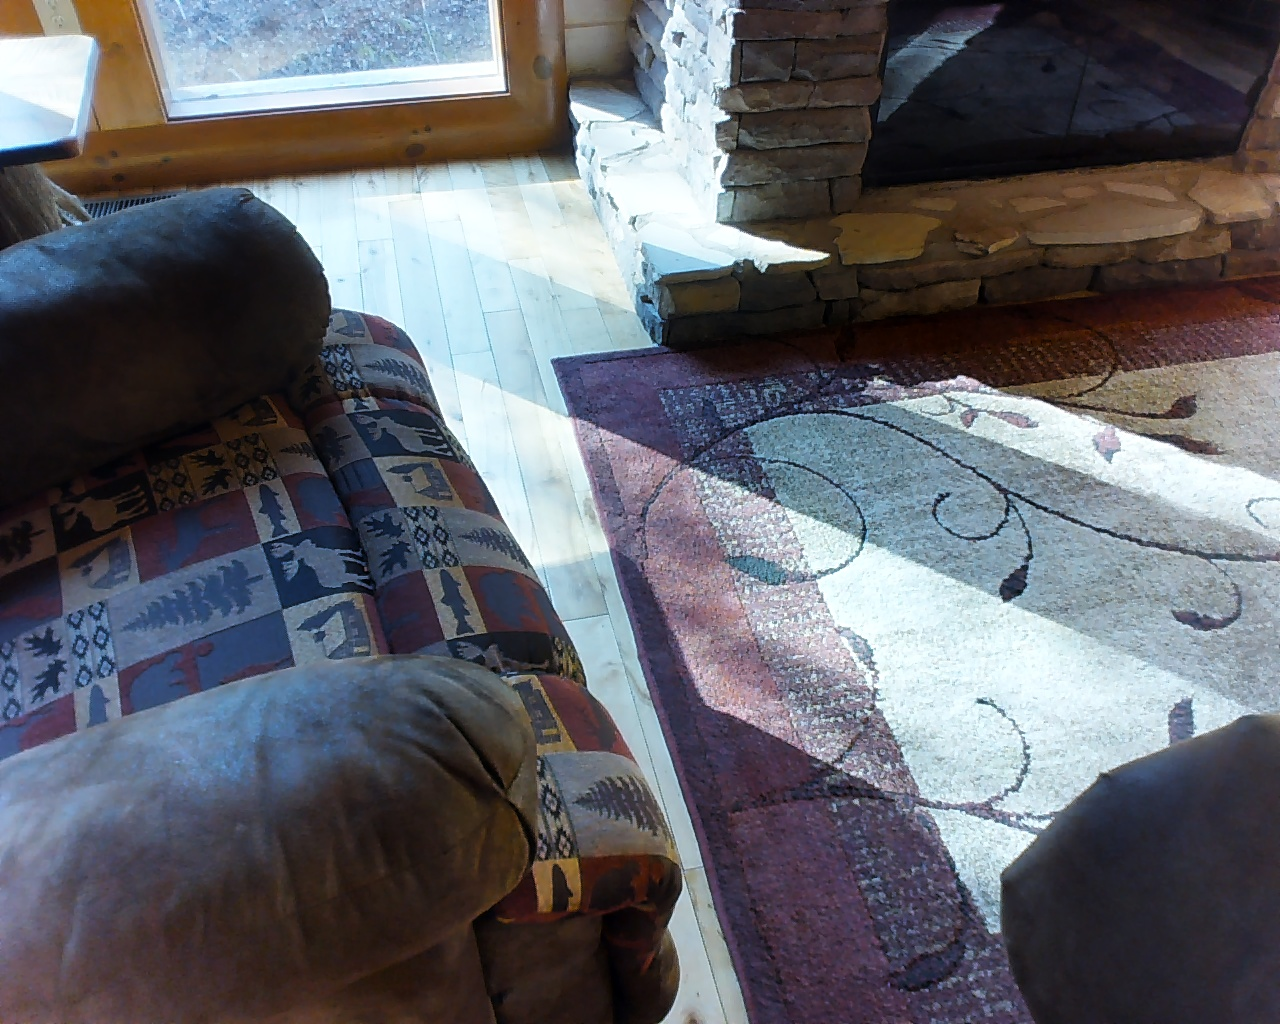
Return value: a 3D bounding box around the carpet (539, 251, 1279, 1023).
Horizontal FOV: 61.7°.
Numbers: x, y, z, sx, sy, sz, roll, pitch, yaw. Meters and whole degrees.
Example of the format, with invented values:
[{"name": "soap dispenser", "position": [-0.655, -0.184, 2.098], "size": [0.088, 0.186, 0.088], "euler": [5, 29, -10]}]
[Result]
[{"name": "carpet", "position": [1.090, 0.000, 1.800], "size": [2.309, 0.010, 1.530], "euler": [-8, 44, -9]}]
